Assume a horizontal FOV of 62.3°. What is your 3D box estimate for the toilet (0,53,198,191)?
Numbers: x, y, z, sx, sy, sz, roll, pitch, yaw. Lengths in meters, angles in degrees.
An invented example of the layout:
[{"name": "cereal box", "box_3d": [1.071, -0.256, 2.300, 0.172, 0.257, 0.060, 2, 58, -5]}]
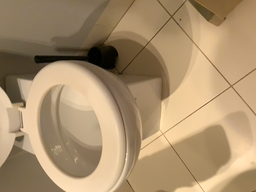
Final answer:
[{"name": "toilet", "box_3d": [-0.190, 0.080, 0.600, 0.500, 0.810, 0.390, 8, 104, 34]}]
